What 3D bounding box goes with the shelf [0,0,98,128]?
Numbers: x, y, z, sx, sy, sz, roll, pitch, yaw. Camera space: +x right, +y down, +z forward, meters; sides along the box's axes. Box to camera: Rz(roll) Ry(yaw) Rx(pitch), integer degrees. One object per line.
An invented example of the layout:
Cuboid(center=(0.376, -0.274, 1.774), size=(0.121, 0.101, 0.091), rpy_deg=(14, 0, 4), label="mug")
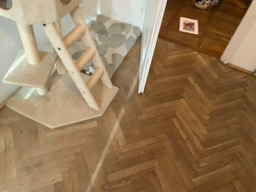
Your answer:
Cuboid(center=(-0.530, -0.380, 1.340), size=(0.450, 1.100, 0.550), rpy_deg=(26, 52, 12), label="shelf")
